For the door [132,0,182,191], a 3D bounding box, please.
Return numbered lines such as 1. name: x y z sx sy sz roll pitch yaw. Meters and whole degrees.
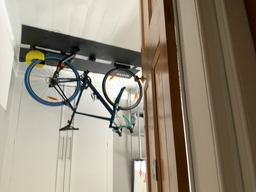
1. door: 0.100 -0.100 1.150 0.070 1.970 0.830 -1 163 -1
